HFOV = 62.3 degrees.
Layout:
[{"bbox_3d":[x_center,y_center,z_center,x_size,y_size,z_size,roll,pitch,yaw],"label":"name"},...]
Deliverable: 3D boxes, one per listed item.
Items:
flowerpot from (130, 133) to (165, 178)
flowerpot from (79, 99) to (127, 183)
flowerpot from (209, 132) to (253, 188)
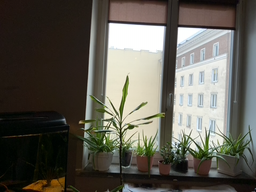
[{"bbox_3d":[0.170,0.550,2.000,0.270,0.350,0.260,3,0,-5],"label":"flowerpot"},{"bbox_3d":[-0.220,0.380,1.950,0.370,0.690,0.340,3,0,-5],"label":"flowerpot"},{"bbox_3d":[0.930,0.570,1.940,0.260,0.440,0.240,3,0,-5],"label":"flowerpot"}]
